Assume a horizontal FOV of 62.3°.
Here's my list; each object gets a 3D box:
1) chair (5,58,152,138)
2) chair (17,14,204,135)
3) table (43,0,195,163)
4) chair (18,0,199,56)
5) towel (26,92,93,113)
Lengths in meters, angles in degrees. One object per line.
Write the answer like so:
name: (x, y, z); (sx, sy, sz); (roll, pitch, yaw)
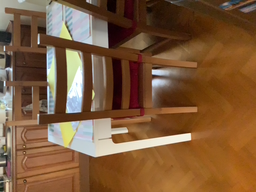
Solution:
chair: (-0.360, 0.030, 1.700); (0.490, 1.030, 0.450); (-6, 85, 53)
chair: (-0.060, -0.070, 1.290); (0.490, 1.020, 0.450); (-3, 87, 53)
table: (-0.120, -0.260, 1.600); (0.850, 0.770, 1.210); (-6, 85, 53)
chair: (-0.080, -0.580, 1.330); (0.490, 1.020, 0.450); (-3, 87, 53)
towel: (-0.780, 0.080, 2.490); (0.140, 0.750, 0.220); (-6, 85, 53)
